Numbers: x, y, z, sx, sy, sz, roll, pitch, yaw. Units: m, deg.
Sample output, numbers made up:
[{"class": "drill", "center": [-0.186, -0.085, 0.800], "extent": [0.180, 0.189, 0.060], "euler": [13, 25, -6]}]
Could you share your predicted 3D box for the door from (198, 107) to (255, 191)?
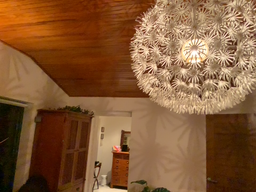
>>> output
[{"class": "door", "center": [1.370, 1.180, 2.930], "extent": [0.770, 2.030, 0.100], "euler": [-5, -13, 40]}]
